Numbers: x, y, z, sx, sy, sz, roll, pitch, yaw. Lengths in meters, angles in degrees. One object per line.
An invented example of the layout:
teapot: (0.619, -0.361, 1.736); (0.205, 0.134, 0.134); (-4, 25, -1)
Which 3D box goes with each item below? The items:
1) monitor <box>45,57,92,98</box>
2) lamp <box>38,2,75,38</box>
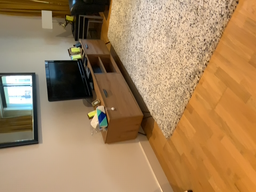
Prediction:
monitor: (-0.800, -0.270, 2.790); (0.770, 0.530, 0.040); (-112, 28, -42)
lamp: (-1.380, -1.450, 4.070); (0.520, 0.610, 0.460); (-116, 31, -43)
